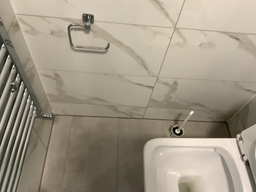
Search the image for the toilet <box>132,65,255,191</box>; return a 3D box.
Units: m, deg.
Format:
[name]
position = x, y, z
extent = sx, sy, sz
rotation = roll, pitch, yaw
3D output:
[toilet]
position = 0.390, 0.320, 0.860
extent = 0.640, 0.840, 0.390
rotation = 3, 57, -6
